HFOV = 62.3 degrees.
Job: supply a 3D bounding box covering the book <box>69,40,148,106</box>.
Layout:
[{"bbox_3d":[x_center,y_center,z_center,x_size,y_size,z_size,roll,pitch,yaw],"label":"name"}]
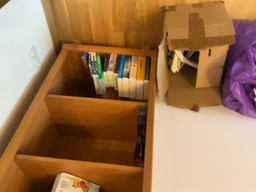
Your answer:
[{"bbox_3d":[-0.100,-0.150,1.340,0.420,0.290,0.250,5,137,3],"label":"book"}]
